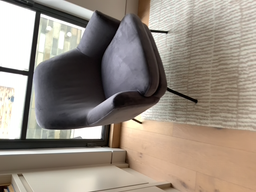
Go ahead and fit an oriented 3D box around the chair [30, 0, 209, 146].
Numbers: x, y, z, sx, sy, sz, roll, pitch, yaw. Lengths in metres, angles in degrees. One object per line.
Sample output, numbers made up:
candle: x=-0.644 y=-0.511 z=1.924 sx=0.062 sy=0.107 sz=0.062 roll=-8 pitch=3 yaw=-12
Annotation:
chair: x=-0.130 y=-0.140 z=1.430 sx=0.750 sy=0.820 sz=0.710 roll=-40 pitch=53 yaw=43
